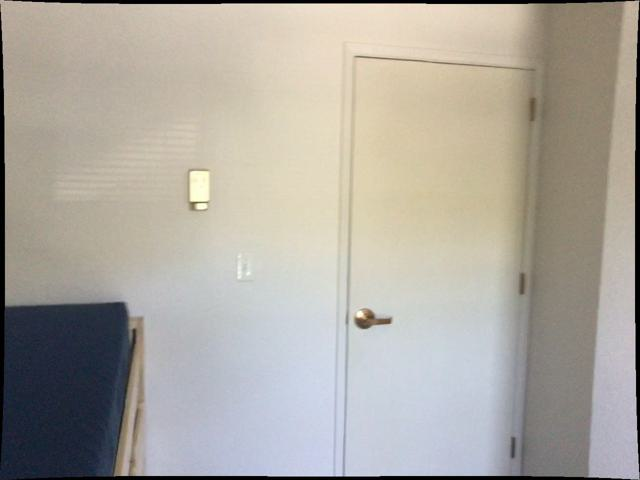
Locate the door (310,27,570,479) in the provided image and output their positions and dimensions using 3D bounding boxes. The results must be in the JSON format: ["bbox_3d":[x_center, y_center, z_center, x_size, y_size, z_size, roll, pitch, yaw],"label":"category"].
[{"bbox_3d":[0.489,0.280,2.430,0.969,2.143,0.090,2,6,-15],"label":"door"}]
